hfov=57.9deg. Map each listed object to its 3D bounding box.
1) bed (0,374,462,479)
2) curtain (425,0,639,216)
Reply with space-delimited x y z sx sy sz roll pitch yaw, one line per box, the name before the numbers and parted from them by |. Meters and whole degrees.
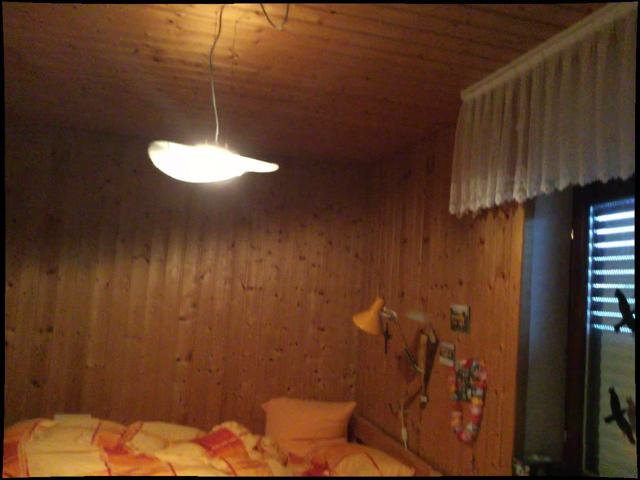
bed | -0.649 1.301 3.090 2.258 0.801 1.510 5 -3 -13
curtain | 0.949 -0.470 1.370 0.200 0.581 2.950 5 -3 -13
